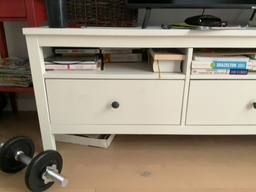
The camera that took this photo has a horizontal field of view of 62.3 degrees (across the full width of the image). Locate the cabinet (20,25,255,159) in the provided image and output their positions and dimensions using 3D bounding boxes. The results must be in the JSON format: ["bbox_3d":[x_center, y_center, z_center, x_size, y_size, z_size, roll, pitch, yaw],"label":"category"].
[{"bbox_3d":[0.510,-0.070,1.100,1.790,0.550,0.540,0,20,0],"label":"cabinet"}]
